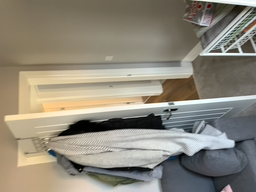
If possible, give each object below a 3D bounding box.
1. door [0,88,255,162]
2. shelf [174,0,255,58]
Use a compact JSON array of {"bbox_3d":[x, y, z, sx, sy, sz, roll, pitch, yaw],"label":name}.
[{"bbox_3d":[0.050,0.250,1.860,0.780,2.060,0.130,112,149,-55],"label":"door"},{"bbox_3d":[0.860,-0.650,1.550,0.560,0.760,0.500,127,136,-64],"label":"shelf"}]
